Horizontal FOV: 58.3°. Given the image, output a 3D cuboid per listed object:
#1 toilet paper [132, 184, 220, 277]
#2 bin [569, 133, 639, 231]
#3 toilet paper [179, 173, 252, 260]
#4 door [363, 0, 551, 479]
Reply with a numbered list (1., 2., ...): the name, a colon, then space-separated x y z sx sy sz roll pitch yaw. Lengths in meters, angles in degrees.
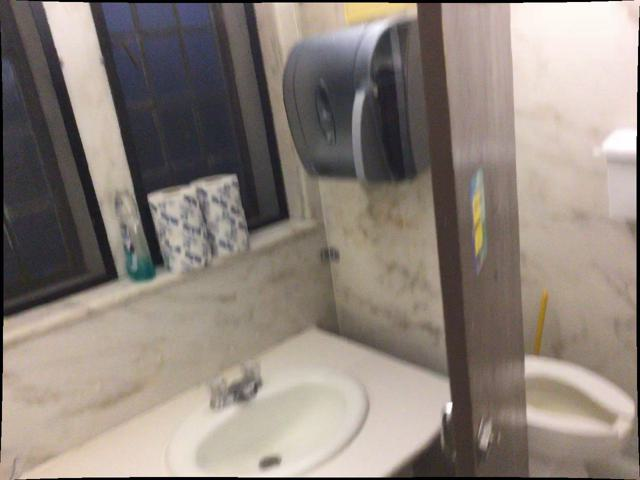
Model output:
1. toilet paper: -0.380 -0.030 1.520 0.150 0.200 0.120 -22 20 -37
2. bin: 1.019 -0.190 1.870 0.130 0.290 0.350 -22 21 -39
3. toilet paper: -0.290 -0.070 1.600 0.110 0.210 0.130 -22 21 -39
4. door: 0.330 0.160 1.080 0.110 1.601 0.710 -2 19 24
